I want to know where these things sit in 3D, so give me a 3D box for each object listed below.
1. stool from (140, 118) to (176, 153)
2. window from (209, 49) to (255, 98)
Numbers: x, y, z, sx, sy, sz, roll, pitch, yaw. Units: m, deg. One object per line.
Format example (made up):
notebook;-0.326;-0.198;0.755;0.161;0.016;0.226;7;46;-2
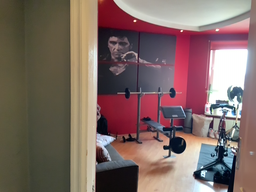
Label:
stool;0.600;0.800;4.490;0.290;0.430;1.010;-1;8;-21
window;2.640;-0.570;5.240;1.120;1.140;0.080;5;8;20
